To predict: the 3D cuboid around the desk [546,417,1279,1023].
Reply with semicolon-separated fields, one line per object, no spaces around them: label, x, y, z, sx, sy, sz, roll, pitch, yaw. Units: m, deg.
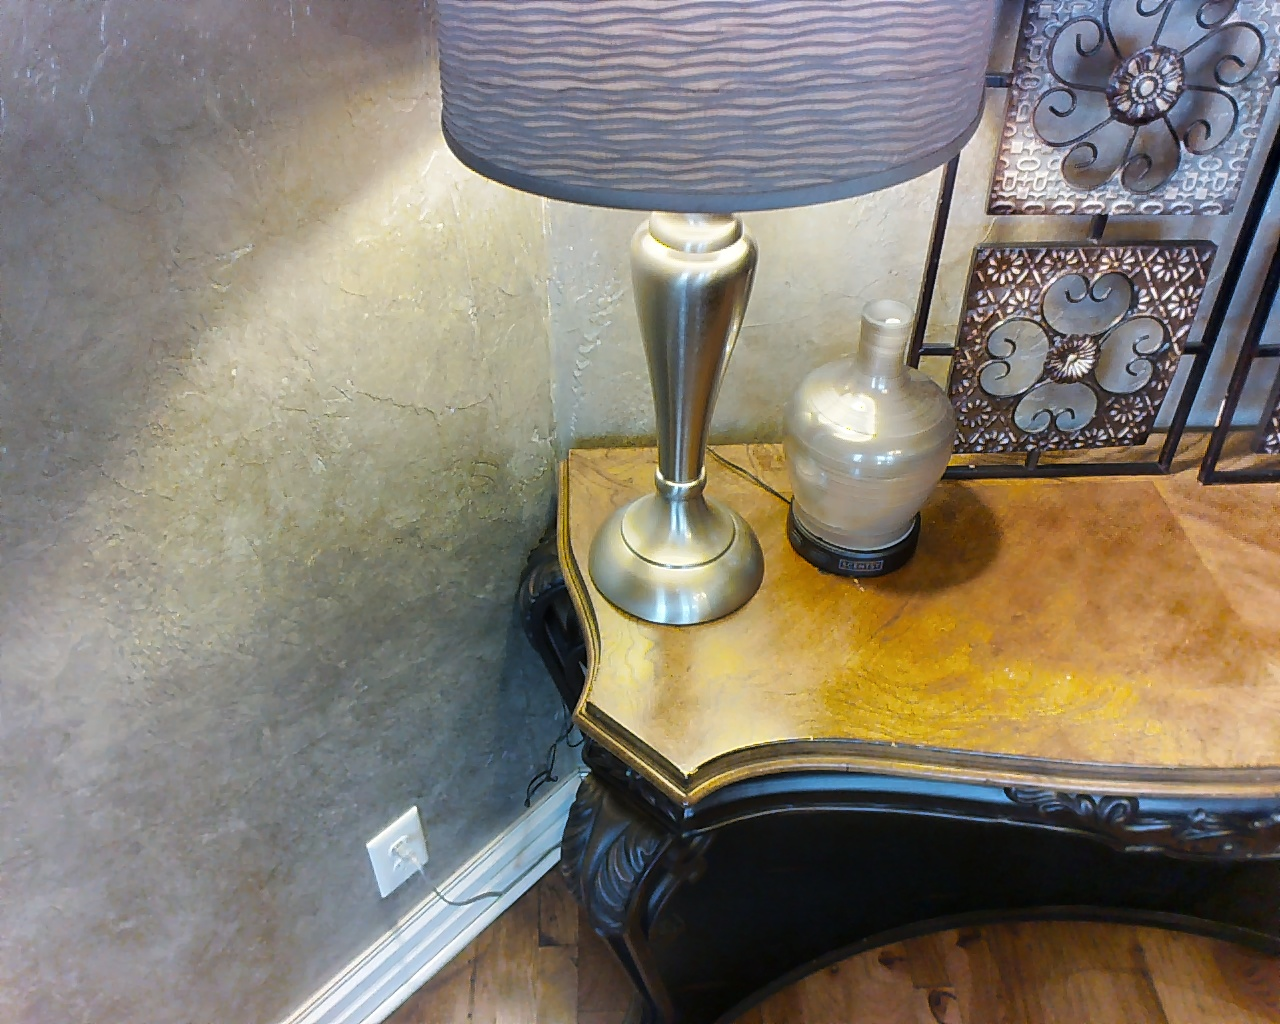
desk;0.620;0.340;1.300;1.410;0.760;0.490;-2;42;-2
